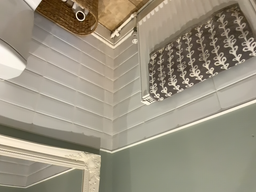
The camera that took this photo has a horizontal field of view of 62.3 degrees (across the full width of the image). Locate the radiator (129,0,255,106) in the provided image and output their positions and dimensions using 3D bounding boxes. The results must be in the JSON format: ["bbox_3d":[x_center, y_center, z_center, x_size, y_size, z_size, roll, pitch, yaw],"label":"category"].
[{"bbox_3d":[0.270,-0.350,1.050,0.090,0.620,0.630,26,139,-38],"label":"radiator"}]
